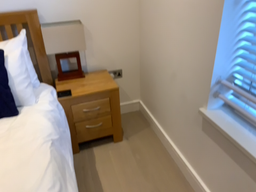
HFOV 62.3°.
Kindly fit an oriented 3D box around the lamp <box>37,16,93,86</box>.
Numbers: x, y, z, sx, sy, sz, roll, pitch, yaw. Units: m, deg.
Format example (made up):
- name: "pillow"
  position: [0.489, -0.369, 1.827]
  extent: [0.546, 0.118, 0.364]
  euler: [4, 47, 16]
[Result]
- name: "lamp"
  position: [-0.500, -0.370, 1.750]
  extent: [0.350, 0.500, 0.190]
  euler: [-10, 31, -13]
